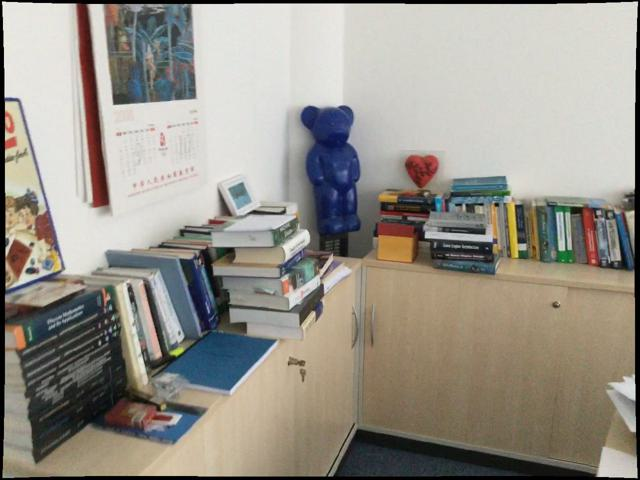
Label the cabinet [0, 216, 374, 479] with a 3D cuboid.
[{"bbox_3d":[-0.270,0.581,1.870,0.480,0.921,1.640,6,18,18],"label":"cabinet"}]

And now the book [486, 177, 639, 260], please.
[{"bbox_3d":[1.099,-0.090,2.340,0.789,0.250,0.220,6,18,18],"label":"book"}]

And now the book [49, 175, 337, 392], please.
[{"bbox_3d":[-0.280,0.030,1.950,0.280,0.260,1.350,6,18,18],"label":"book"}]

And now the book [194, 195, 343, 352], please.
[{"bbox_3d":[-0.140,0.080,1.770,0.330,0.350,0.350,6,18,18],"label":"book"}]

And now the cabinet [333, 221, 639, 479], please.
[{"bbox_3d":[0.929,0.460,2.360,1.708,0.861,0.400,6,18,18],"label":"cabinet"}]

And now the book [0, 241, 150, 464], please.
[{"bbox_3d":[-0.579,0.210,1.230,0.240,0.310,0.350,6,18,18],"label":"book"}]

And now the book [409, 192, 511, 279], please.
[{"bbox_3d":[0.569,-0.030,2.340,0.360,0.250,0.290,6,18,18],"label":"book"}]
